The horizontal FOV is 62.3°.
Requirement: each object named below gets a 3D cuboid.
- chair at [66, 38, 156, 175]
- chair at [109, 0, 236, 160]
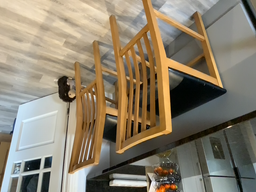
[{"bbox_3d":[-0.140,0.090,1.650,0.480,0.910,0.370,17,145,-31],"label":"chair"},{"bbox_3d":[0.190,-0.150,1.240,0.480,0.910,0.370,17,145,-31],"label":"chair"}]
